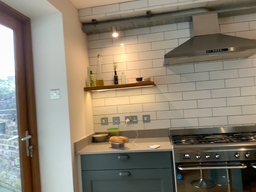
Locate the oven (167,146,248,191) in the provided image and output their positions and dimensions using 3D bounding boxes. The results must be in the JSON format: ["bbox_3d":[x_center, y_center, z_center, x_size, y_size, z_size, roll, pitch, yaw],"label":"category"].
[{"bbox_3d":[0.700,0.910,2.010,0.590,0.710,0.630,-4,-1,9],"label":"oven"}]

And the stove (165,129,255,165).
[{"bbox_3d":[0.840,0.460,2.000,0.940,0.170,0.620,-4,-1,9],"label":"stove"}]
